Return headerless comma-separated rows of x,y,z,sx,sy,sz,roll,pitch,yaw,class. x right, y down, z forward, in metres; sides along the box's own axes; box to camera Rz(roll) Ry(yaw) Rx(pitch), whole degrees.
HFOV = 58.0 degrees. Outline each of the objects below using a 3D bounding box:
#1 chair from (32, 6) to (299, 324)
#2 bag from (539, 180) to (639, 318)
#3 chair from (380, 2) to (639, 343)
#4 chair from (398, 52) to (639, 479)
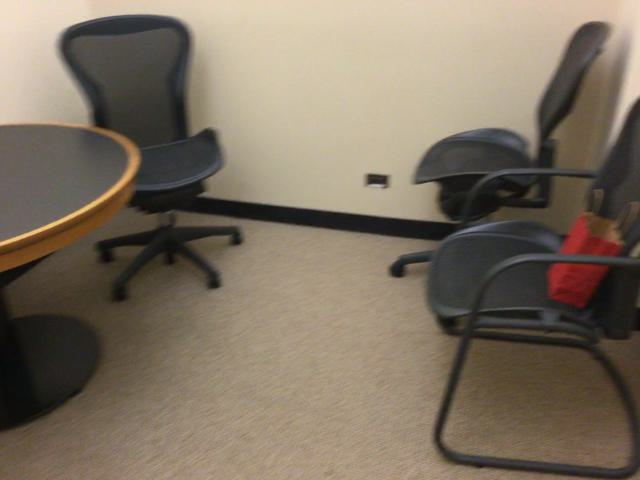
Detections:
-0.630,-0.380,2.480,0.760,1.030,0.780,-18,34,-28,chair
0.700,0.020,1.530,0.170,0.290,0.190,7,30,14,bag
0.670,-0.290,2.210,0.730,1.060,0.670,7,30,14,chair
0.610,0.050,1.660,0.610,0.980,0.720,7,30,14,chair
